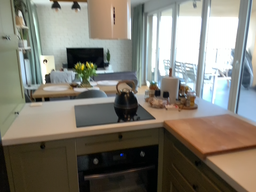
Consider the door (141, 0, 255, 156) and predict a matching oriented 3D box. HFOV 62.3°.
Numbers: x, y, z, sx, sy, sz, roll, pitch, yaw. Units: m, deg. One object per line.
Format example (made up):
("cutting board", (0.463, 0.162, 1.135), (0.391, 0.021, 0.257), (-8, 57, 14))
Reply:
("door", (1.230, -1.050, 4.500), (0.290, 2.600, 5.330), (-3, 15, -13))
